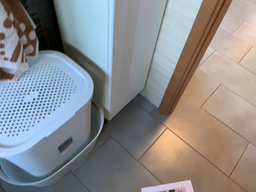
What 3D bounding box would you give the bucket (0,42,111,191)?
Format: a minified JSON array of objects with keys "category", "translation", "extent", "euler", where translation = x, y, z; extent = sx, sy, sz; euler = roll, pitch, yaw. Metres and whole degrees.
[{"category":"bucket","translation":[-0.380,0.170,1.010],"extent":[0.470,0.610,0.340],"euler":[-36,67,-26]}]
